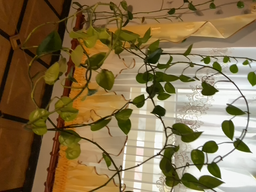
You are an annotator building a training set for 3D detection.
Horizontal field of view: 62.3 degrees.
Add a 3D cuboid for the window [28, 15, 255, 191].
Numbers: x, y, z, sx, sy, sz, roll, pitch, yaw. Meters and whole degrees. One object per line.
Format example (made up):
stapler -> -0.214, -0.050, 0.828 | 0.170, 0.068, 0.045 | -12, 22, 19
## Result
window -> 0.320, 0.640, 1.060 | 0.260, 1.710, 2.140 | 47, -133, -73
